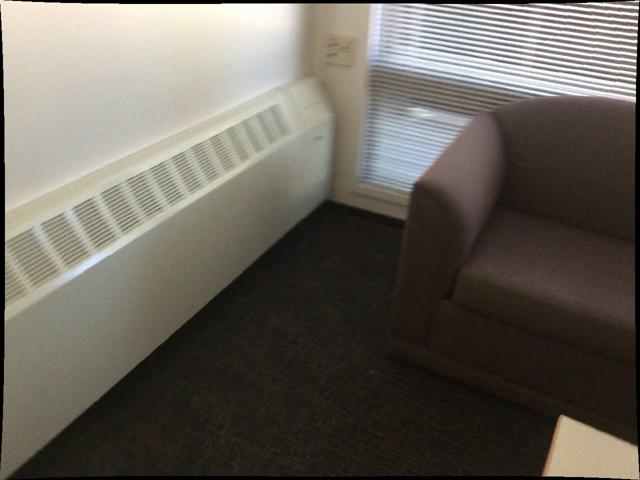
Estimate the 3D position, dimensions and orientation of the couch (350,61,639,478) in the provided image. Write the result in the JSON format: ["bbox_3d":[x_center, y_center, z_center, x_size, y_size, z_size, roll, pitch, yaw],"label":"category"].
[{"bbox_3d":[1.178,0.110,1.740,1.838,0.761,1.040,20,34,23],"label":"couch"}]

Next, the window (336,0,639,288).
[{"bbox_3d":[0.779,-0.922,1.980,1.279,1.952,0.330,20,34,23],"label":"window"}]
